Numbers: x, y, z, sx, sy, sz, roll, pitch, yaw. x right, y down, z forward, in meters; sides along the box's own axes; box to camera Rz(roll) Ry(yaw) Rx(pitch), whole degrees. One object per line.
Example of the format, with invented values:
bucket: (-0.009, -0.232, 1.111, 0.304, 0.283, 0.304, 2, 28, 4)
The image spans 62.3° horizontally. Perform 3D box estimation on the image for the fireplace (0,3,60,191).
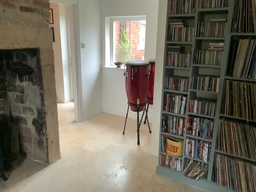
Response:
fireplace: (-1.580, 0.080, 1.830, 0.700, 1.710, 1.790, 11, 18, 29)

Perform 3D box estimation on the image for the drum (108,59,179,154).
drum: (0.240, 0.080, 3.230, 0.600, 1.180, 0.900, 14, 19, 36)
